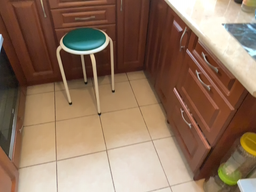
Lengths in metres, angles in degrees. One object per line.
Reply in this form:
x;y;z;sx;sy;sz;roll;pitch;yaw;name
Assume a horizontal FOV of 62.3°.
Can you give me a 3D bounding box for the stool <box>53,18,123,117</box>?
-0.280;-0.200;1.570;0.400;0.570;0.380;-9;47;-12;stool
